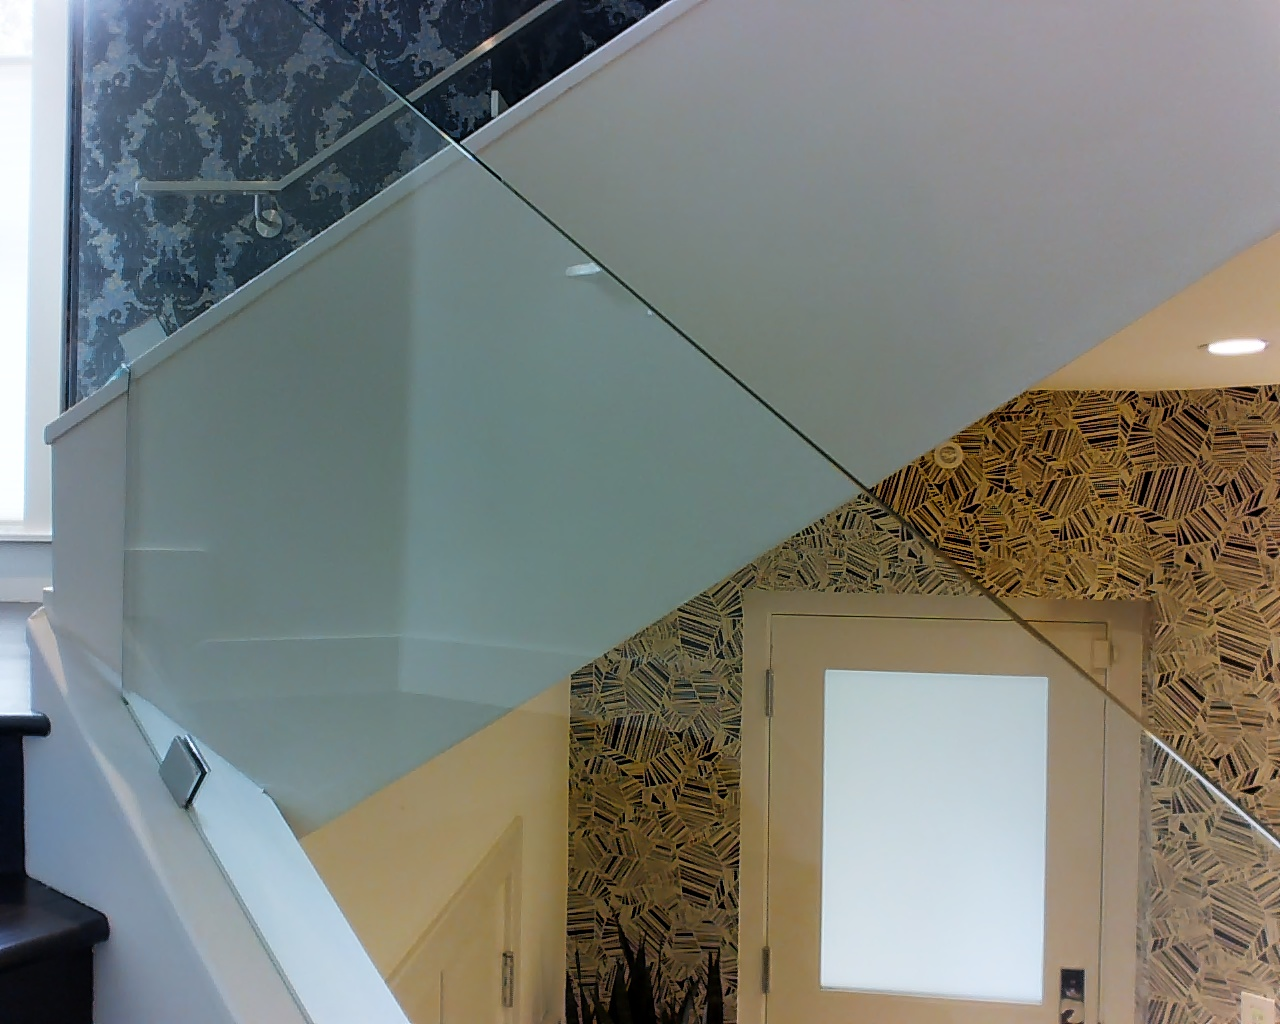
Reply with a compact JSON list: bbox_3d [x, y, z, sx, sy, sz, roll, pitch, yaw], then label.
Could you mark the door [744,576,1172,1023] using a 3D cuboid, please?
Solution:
[{"bbox_3d":[0.840,1.300,2.970,1.090,2.210,0.190,1,1,7],"label":"door"}]
